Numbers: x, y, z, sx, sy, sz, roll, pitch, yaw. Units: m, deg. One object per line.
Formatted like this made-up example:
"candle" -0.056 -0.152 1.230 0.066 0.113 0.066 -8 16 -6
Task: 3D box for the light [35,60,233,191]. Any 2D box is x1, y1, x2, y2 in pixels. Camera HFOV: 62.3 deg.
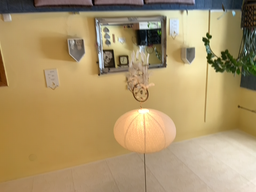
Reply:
"light" 0.130 0.390 2.010 1.660 0.580 0.770 -30 115 -18
